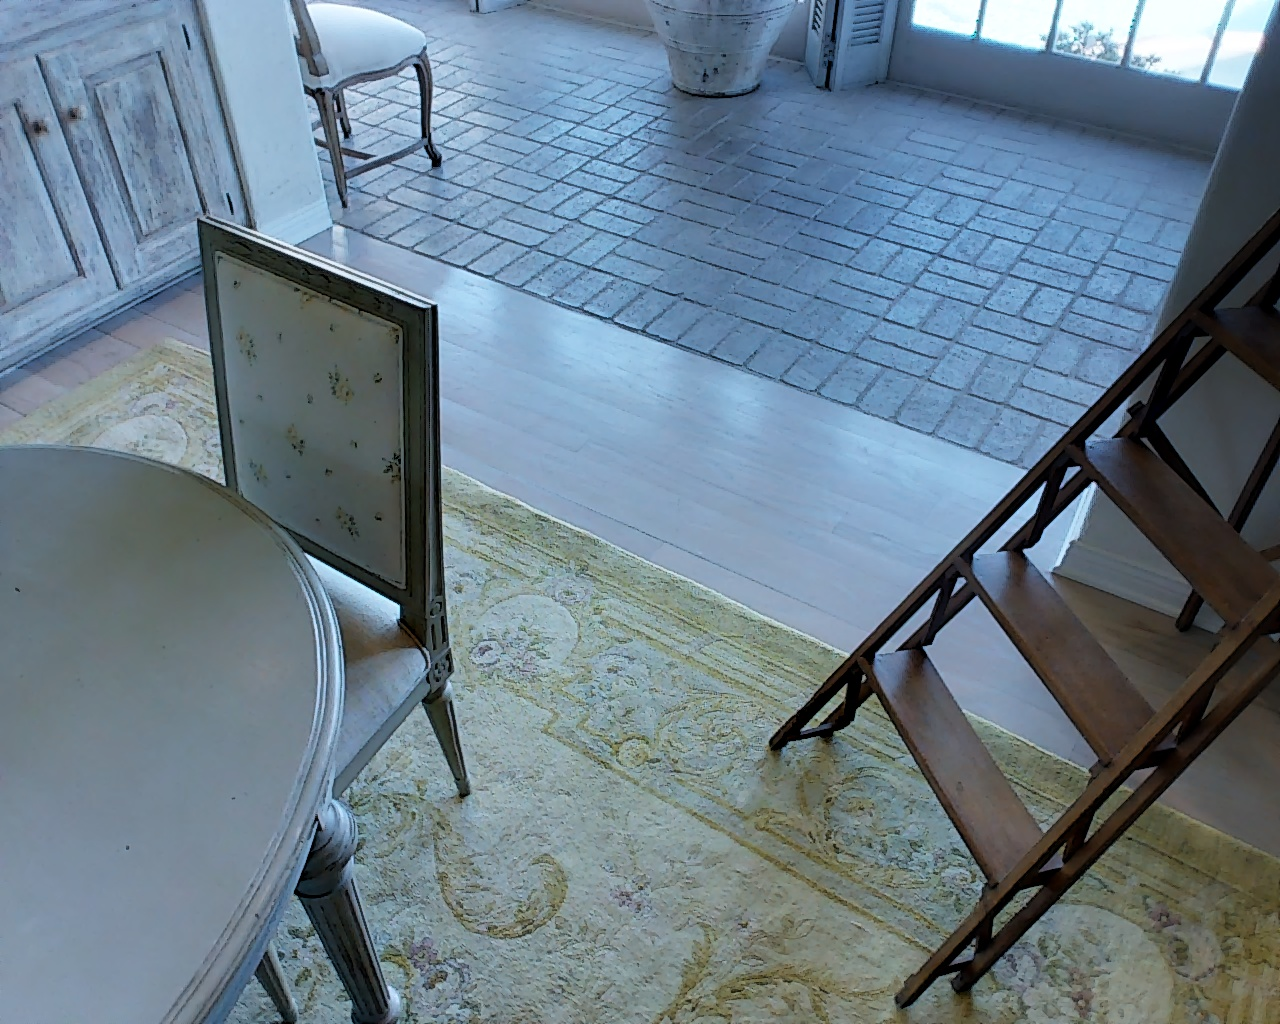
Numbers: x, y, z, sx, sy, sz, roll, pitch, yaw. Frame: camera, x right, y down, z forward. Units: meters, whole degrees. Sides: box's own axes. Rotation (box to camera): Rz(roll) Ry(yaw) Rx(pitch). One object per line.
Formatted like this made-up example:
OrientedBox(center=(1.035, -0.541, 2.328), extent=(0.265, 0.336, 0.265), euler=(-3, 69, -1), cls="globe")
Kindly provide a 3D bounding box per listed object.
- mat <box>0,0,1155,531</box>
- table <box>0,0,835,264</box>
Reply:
OrientedBox(center=(-0.730, -1.550, 4.110), extent=(4.330, 0.060, 3.110), euler=(-25, 47, -25), cls="mat")
OrientedBox(center=(-0.730, -1.870, 3.910), extent=(2.790, 0.740, 1.200), euler=(-24, 47, -25), cls="table")
